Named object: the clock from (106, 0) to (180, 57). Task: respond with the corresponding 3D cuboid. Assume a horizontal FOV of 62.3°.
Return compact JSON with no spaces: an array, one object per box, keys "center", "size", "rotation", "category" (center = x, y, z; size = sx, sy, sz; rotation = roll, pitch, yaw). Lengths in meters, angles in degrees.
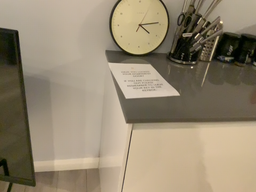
[{"center":[0.060,-0.350,1.040],"size":[0.290,0.290,0.040],"rotation":[7,37,-14],"category":"clock"}]
